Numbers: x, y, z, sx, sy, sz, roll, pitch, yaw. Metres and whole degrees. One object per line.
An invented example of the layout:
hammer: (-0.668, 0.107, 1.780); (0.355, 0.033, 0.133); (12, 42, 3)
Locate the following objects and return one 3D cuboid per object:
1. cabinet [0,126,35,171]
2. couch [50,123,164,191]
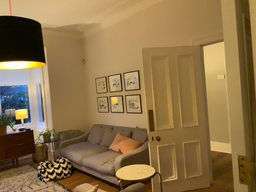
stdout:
cabinet: (-3.100, 1.190, 4.290); (2.150, 0.780, 0.470); (-6, 2, -41)
couch: (-0.510, 1.030, 4.030); (1.040, 0.750, 2.100); (-6, 2, -42)
